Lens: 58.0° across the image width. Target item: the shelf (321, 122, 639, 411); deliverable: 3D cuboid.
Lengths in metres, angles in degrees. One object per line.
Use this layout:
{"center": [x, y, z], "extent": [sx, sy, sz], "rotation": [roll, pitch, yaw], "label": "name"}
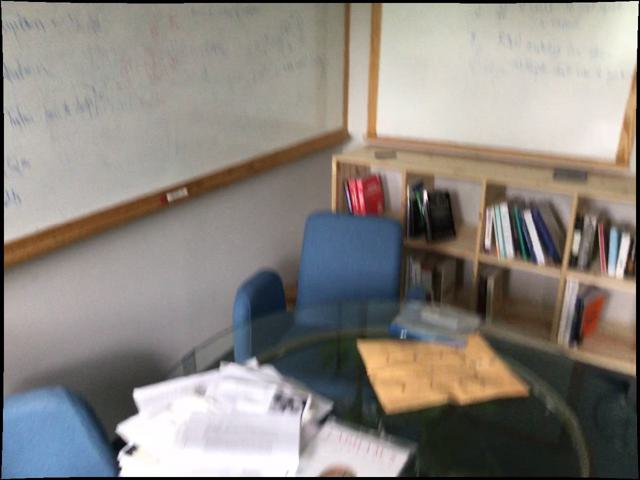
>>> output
{"center": [0.788, 0.040, 2.580], "extent": [1.538, 0.872, 0.480], "rotation": [14, 28, 29], "label": "shelf"}
